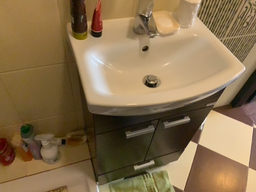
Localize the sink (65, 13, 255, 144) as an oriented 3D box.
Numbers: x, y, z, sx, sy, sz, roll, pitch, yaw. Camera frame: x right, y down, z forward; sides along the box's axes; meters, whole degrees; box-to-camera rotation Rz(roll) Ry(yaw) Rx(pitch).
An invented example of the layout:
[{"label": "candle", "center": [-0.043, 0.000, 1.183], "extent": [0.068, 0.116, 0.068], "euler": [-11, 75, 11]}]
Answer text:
[{"label": "sink", "center": [0.090, -0.100, 0.730], "extent": [0.530, 0.130, 0.380], "euler": [-12, 54, -16]}]
